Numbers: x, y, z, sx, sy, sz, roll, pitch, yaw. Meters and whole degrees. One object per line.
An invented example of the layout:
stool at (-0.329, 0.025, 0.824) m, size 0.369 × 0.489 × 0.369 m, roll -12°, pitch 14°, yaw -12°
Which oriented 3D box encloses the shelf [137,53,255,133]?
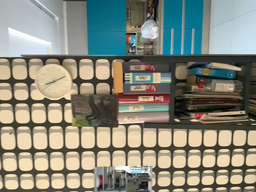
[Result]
shelf at (0.800, -0.030, 1.110) m, size 0.300 × 1.480 × 0.350 m, roll -113°, pitch 23°, yaw -81°
